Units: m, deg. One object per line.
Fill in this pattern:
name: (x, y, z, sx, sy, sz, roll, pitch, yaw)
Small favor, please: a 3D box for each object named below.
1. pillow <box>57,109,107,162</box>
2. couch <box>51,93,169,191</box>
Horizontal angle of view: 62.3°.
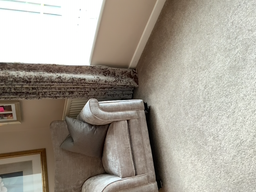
pillow: (-0.480, 0.420, 2.220, 0.230, 0.420, 0.440, -99, 25, -58)
couch: (-0.280, 0.570, 2.280, 0.930, 0.910, 0.970, 148, 117, -62)
